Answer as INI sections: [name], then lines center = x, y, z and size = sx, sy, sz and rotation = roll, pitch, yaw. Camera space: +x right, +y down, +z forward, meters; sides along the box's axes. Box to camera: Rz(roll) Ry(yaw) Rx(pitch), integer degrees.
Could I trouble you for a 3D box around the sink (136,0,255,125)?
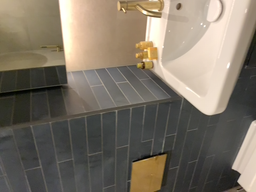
[sink]
center = 0.250, -0.300, 0.730
size = 0.540, 0.210, 0.550
rotation = -126, 33, -52
